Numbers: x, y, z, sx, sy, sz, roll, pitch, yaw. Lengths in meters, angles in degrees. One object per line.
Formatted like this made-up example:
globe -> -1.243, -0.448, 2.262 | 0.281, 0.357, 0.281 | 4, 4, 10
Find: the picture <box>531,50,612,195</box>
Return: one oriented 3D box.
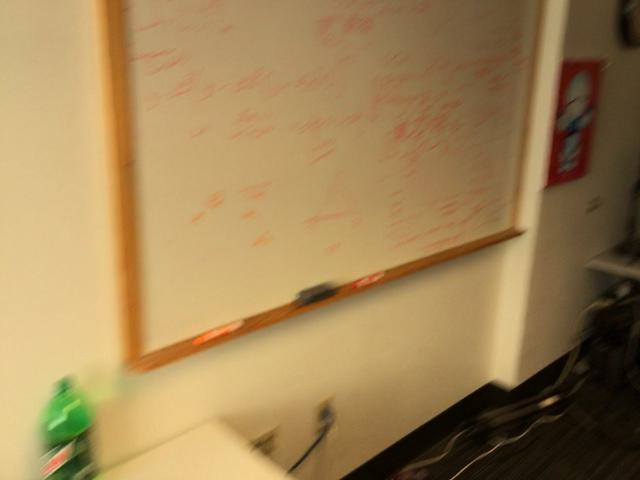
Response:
picture -> 1.030, -0.490, 2.360 | 0.440, 0.540, 0.080 | -15, 20, -38
